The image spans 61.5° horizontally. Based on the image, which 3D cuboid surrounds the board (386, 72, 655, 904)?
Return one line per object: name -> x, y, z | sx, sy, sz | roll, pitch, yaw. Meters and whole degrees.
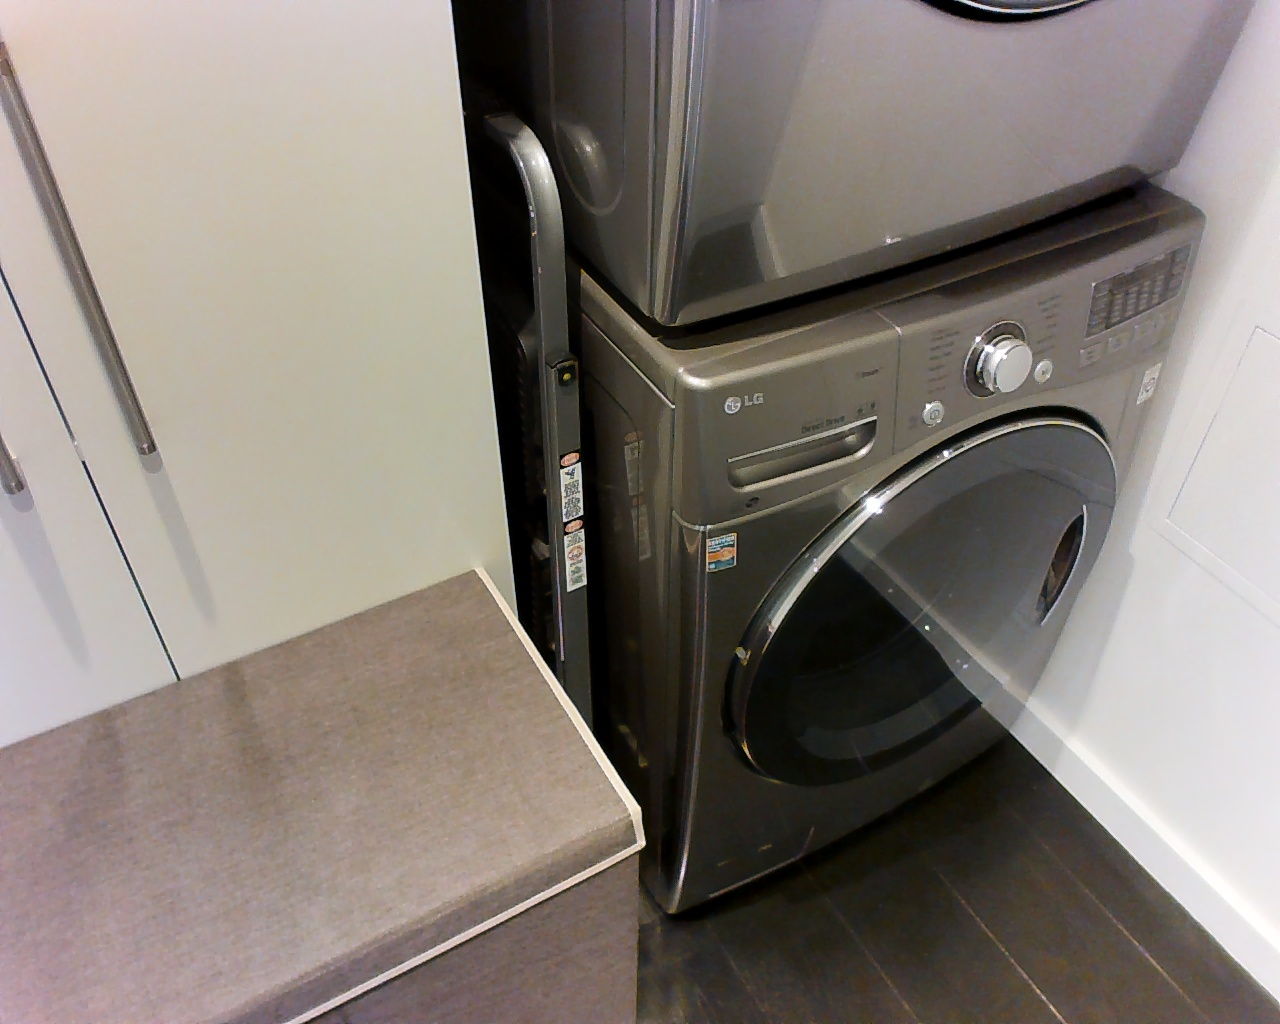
board -> -0.120, 0.070, 1.390 | 0.140, 1.140, 0.290 | -21, 46, -22
